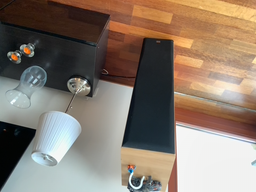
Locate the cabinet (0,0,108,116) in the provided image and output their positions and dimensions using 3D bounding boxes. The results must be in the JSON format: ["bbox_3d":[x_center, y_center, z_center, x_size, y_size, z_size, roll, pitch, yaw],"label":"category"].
[{"bbox_3d":[-1.120,-0.410,1.470,1.850,0.430,0.500,15,133,-3],"label":"cabinet"}]
